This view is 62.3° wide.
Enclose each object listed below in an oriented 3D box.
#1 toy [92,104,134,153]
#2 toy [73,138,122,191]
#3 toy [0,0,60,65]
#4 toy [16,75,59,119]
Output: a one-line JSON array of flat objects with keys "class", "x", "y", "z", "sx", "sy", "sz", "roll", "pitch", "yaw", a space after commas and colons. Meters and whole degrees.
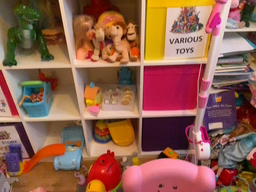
[{"class": "toy", "x": -0.100, "y": 0.230, "z": 1.540, "sx": 0.270, "sy": 0.250, "sz": 0.240, "roll": -1, "pitch": 35, "yaw": -1}, {"class": "toy", "x": -0.160, "y": 0.470, "z": 1.280, "sx": 0.210, "sy": 0.200, "sz": 0.380, "roll": 2, "pitch": 35, "yaw": 4}, {"class": "toy", "x": -0.520, "y": -0.350, "z": 1.120, "sx": 0.210, "sy": 0.260, "sz": 0.300, "roll": -2, "pitch": 35, "yaw": -2}, {"class": "toy", "x": -0.540, "y": 0.000, "z": 1.300, "sx": 0.150, "sy": 0.170, "sz": 0.220, "roll": -2, "pitch": 35, "yaw": -2}]
